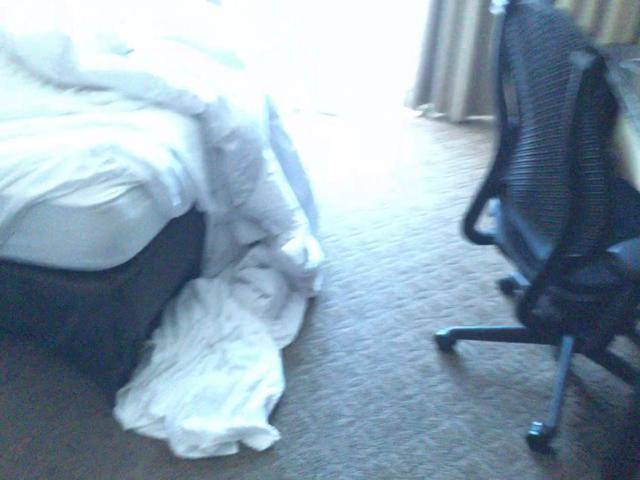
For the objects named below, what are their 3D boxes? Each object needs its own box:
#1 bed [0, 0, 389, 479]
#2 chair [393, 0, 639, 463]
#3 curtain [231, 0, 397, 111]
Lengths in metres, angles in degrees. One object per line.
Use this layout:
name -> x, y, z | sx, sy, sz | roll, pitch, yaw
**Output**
bed -> -1.110, -0.670, 1.920 | 2.420, 1.530, 1.730 | 10, 30, 10
chair -> 0.670, -0.070, 1.480 | 0.700, 1.030, 0.650 | -1, 30, -9
curtain -> -0.010, -1.570, 2.990 | 0.860, 1.650, 0.280 | 10, 30, 10
